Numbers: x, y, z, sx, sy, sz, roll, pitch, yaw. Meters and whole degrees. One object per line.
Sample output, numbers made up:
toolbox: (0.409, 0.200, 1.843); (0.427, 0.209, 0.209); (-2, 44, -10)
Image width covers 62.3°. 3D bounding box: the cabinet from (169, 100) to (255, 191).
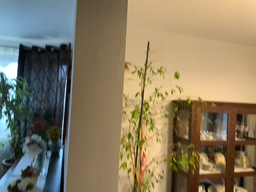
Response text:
cabinet: (1.180, 1.070, 2.770); (1.160, 1.960, 0.480); (4, -1, -17)
